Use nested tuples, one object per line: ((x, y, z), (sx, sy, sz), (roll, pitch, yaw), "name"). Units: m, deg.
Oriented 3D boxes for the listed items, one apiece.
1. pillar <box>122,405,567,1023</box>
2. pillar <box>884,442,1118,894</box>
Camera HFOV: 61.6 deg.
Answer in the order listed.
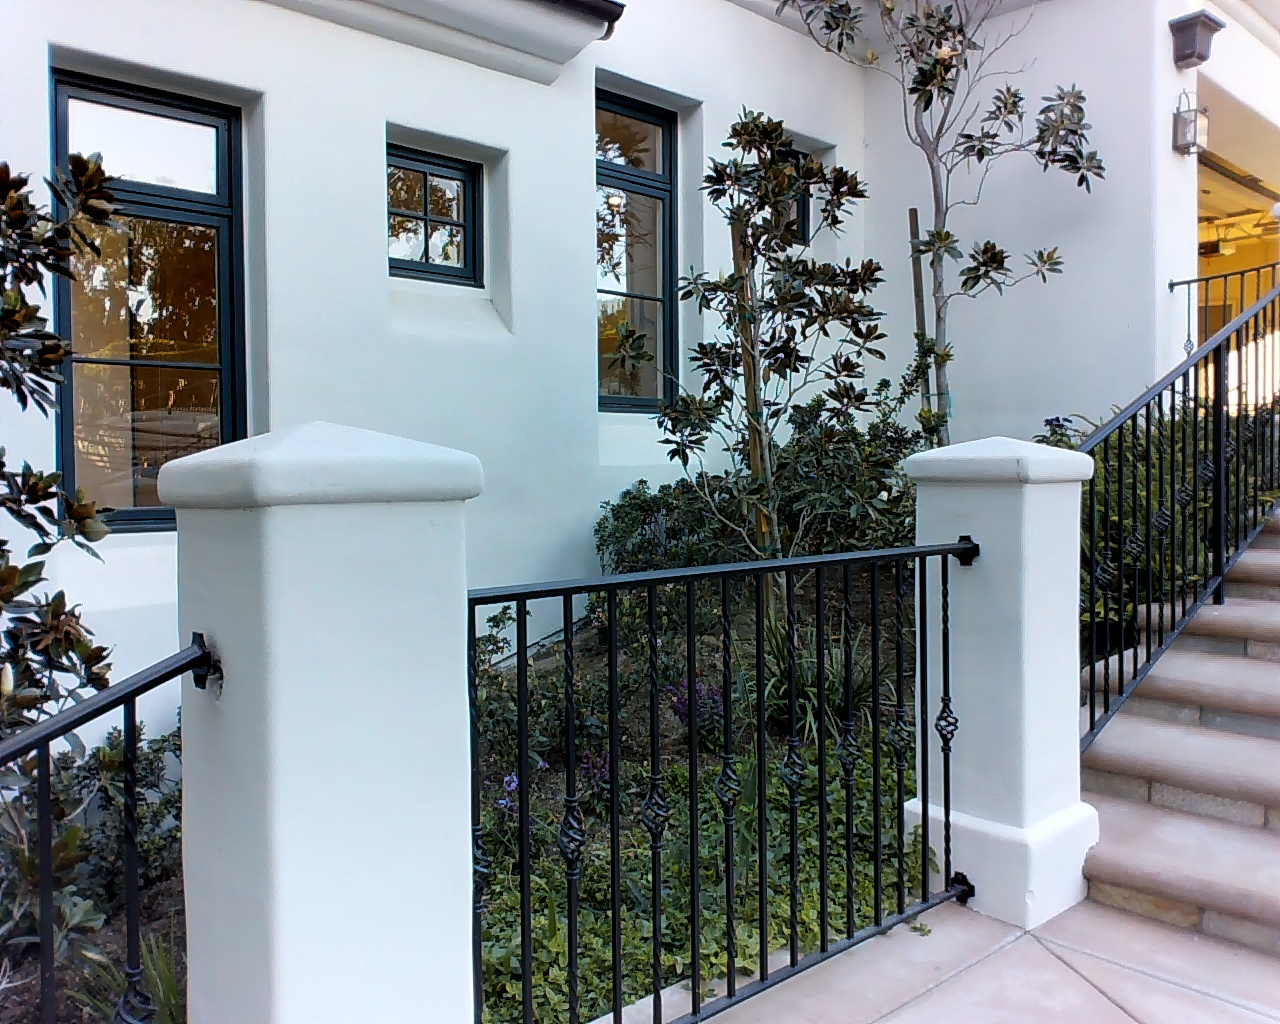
((-0.460, 0.470, 1.650), (0.460, 1.210, 0.530), (-1, 2, -42), "pillar")
((0.970, 0.370, 2.890), (0.440, 1.090, 0.440), (-1, 2, -43), "pillar")
